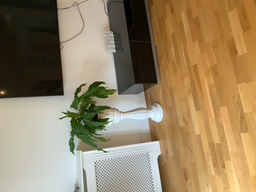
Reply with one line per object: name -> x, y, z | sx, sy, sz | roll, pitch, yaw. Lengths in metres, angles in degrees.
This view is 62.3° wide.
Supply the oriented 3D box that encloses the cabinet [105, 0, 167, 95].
cabinet -> 0.050, -0.740, 2.580 | 0.500, 0.380, 1.360 | 148, 116, -62
